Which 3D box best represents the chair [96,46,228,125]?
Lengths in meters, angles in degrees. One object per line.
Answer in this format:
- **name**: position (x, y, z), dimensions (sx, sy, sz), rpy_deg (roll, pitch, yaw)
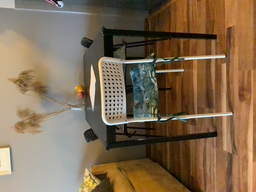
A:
- **chair**: position (0.190, -0.050, 1.410), dimensions (0.400, 0.730, 0.410), rpy_deg (149, 117, -71)
